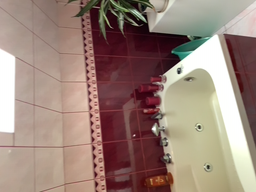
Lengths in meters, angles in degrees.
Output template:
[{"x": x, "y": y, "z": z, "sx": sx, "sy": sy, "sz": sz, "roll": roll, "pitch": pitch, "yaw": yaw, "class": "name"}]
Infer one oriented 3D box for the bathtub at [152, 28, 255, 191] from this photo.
[{"x": 0.700, "y": 0.560, "z": 1.320, "sx": 0.750, "sy": 0.550, "sz": 1.700, "roll": 140, "pitch": 125, "yaw": -62, "class": "bathtub"}]
